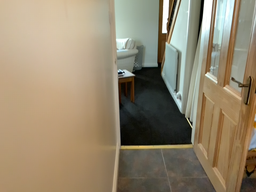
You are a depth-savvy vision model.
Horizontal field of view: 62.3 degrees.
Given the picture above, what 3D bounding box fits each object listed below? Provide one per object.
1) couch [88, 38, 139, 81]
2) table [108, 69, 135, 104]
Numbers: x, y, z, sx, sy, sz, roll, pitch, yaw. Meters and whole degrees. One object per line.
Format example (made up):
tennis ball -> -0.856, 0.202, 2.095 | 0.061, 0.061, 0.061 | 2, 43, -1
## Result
couch -> -0.290, -0.930, 5.170 | 1.080, 0.850, 1.000 | 1, 21, 5
table -> -0.100, -0.170, 3.700 | 0.400, 0.440, 0.480 | -3, 25, 1
